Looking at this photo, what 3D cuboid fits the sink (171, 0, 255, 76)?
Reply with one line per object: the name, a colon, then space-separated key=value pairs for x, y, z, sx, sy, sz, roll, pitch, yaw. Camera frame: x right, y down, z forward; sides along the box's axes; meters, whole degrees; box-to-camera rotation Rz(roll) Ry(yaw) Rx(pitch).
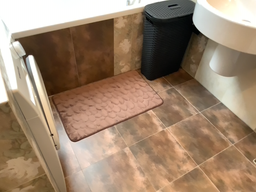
sink: x=0.610 y=-0.410 z=1.130 sx=0.480 sy=0.170 sz=0.570 roll=-21 pitch=51 yaw=-23
